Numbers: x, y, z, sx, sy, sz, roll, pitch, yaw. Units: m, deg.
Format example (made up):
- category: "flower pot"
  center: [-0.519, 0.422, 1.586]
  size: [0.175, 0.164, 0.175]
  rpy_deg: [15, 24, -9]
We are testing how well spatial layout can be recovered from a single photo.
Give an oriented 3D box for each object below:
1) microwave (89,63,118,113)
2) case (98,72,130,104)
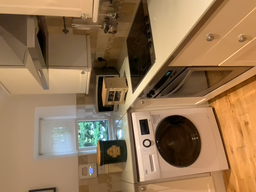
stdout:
- category: "microwave"
  center: [-0.280, -0.110, 2.360]
  size: [0.390, 0.260, 0.510]
  rpy_deg: [-147, 57, -73]
- category: "case"
  center: [-0.140, -0.070, 1.960]
  size: [0.270, 0.230, 0.210]
  rpy_deg: [124, 142, -66]
